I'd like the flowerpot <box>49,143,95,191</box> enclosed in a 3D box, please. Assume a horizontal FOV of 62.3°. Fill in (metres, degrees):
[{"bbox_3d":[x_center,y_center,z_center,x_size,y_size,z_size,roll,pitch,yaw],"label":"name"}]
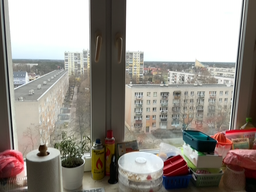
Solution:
[{"bbox_3d":[-0.250,0.330,0.980,0.190,0.180,0.120,-1,10,-11],"label":"flowerpot"}]
